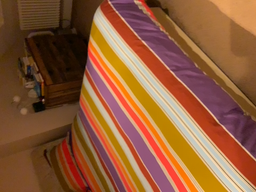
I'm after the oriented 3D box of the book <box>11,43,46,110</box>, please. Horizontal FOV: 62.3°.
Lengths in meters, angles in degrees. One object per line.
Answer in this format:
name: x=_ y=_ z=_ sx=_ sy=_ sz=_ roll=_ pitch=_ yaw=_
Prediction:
book: x=-1.290 y=-0.260 z=2.760 sx=0.740 sy=0.200 sz=0.450 roll=58 pitch=146 yaw=25
